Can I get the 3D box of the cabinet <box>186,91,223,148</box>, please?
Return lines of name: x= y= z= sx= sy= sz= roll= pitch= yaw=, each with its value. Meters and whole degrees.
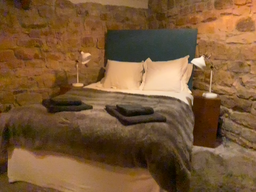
cabinet: x=1.040 y=0.300 z=2.910 sx=0.380 sy=0.660 sz=0.390 roll=6 pitch=13 yaw=19
